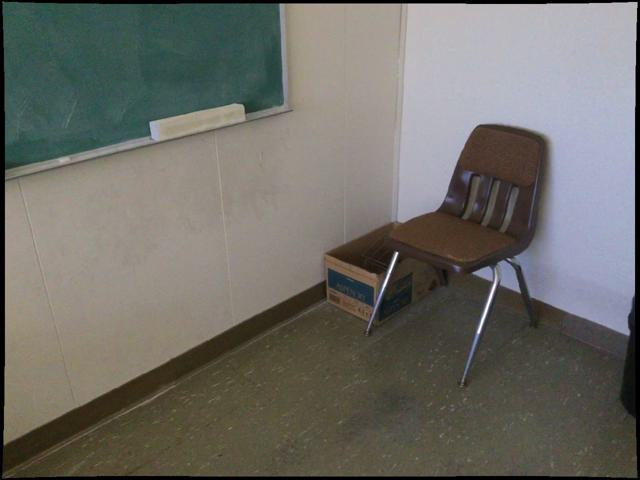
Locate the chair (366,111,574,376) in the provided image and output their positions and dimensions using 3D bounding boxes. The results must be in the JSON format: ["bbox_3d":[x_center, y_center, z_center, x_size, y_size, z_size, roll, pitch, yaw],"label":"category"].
[{"bbox_3d":[0.529,-0.020,2.120,0.559,0.721,0.450,-26,35,-36],"label":"chair"}]
